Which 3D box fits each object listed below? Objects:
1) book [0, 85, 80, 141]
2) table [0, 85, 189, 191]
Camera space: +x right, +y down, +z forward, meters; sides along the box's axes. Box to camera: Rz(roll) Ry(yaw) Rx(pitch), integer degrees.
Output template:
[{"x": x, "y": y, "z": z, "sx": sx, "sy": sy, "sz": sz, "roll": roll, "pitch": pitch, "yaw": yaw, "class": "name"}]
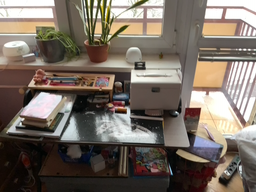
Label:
[{"x": -0.430, "y": 0.070, "z": 1.090, "sx": 0.270, "sy": 0.100, "sz": 0.330, "roll": 2, "pitch": 32, "yaw": 4, "class": "book"}, {"x": -0.150, "y": 0.380, "z": 1.370, "sx": 0.880, "sy": 0.720, "sz": 0.500, "roll": 2, "pitch": 32, "yaw": 3, "class": "table"}]
